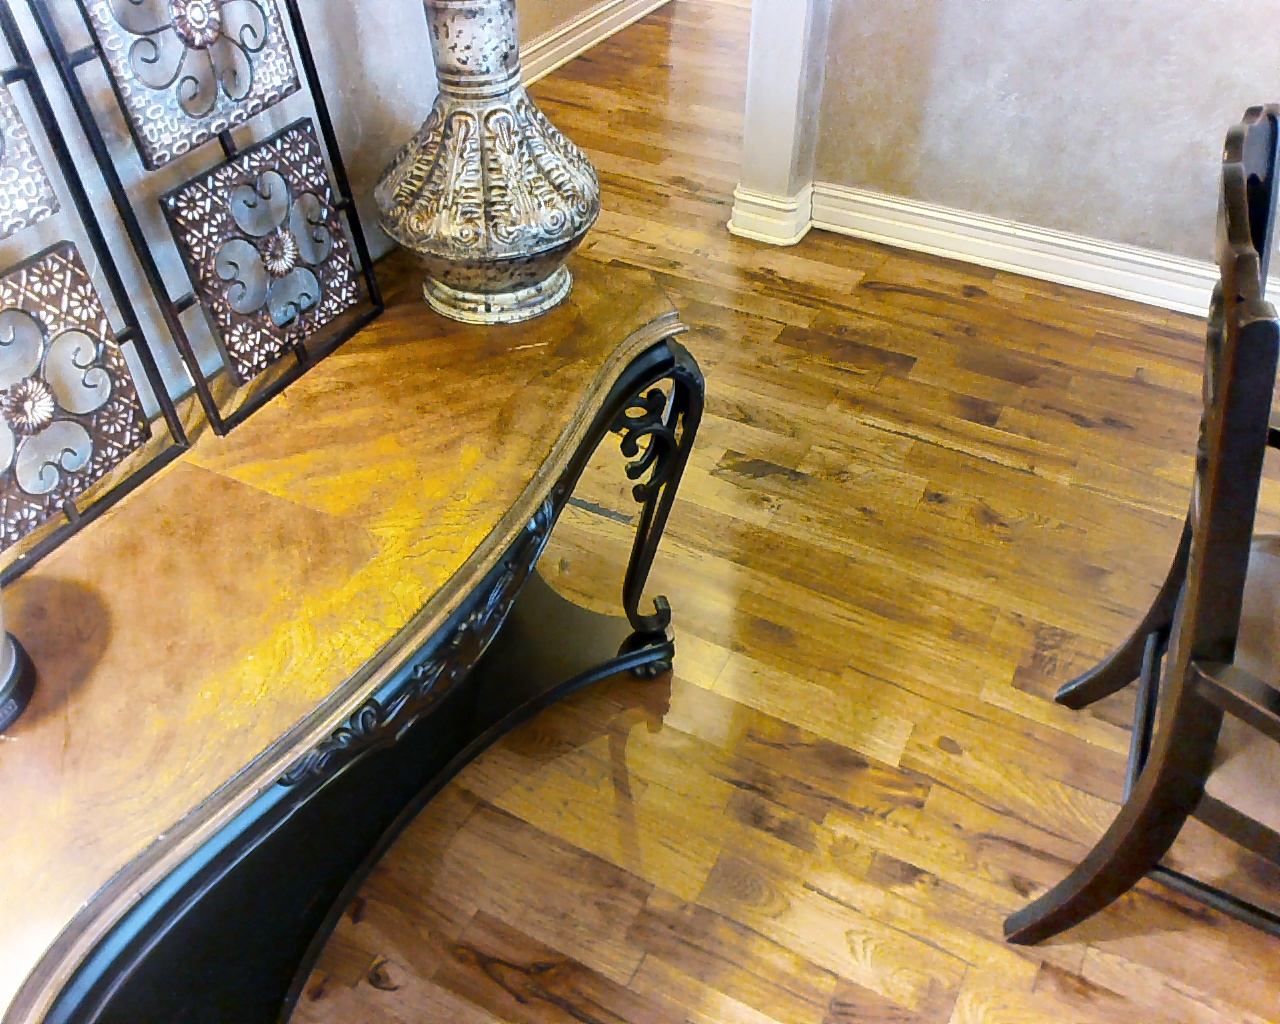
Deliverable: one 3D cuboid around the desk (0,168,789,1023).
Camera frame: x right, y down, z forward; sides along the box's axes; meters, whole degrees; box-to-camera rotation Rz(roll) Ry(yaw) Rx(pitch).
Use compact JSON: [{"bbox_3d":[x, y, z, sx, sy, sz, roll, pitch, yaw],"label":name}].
[{"bbox_3d":[-0.330,0.230,1.420,0.490,0.760,1.410,19,46,20],"label":"desk"}]
